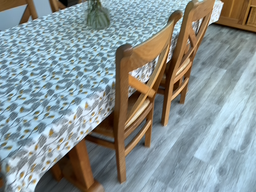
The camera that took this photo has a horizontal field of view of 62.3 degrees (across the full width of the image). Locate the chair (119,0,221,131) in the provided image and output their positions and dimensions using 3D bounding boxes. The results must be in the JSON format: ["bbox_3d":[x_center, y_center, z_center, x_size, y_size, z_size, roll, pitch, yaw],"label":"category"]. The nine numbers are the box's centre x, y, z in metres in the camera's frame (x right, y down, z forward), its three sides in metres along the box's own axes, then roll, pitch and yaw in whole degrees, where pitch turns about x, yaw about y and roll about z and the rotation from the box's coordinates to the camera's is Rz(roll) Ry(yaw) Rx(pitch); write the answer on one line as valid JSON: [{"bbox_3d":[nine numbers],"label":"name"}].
[{"bbox_3d":[0.270,-0.290,1.610,0.490,0.930,0.430,27,47,29],"label":"chair"}]

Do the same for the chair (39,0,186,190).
[{"bbox_3d":[-0.060,0.010,1.240,0.490,0.940,0.430,25,46,26],"label":"chair"}]
